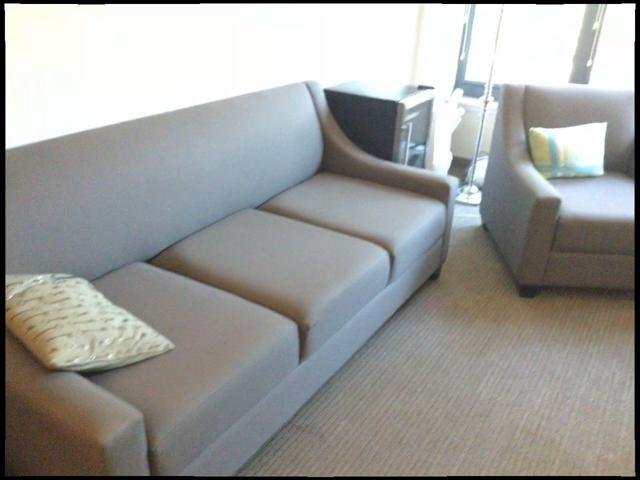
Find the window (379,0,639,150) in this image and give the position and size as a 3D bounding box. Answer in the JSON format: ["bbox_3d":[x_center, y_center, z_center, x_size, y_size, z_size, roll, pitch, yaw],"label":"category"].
[{"bbox_3d":[1.547,-1.724,3.590,1.998,1.722,0.310,28,34,18],"label":"window"}]

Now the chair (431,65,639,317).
[{"bbox_3d":[1.237,-0.291,2.970,0.958,0.901,1.051,1,31,-5],"label":"chair"}]
